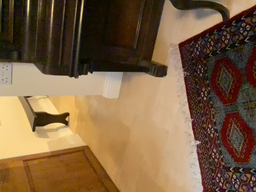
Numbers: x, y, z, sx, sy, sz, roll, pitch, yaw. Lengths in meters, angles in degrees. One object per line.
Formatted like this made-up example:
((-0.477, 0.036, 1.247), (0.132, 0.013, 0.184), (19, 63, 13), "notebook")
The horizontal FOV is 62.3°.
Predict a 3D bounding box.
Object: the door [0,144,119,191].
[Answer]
((-0.980, 0.730, 1.620), (0.740, 1.770, 0.030), (38, 121, 47), "door")
